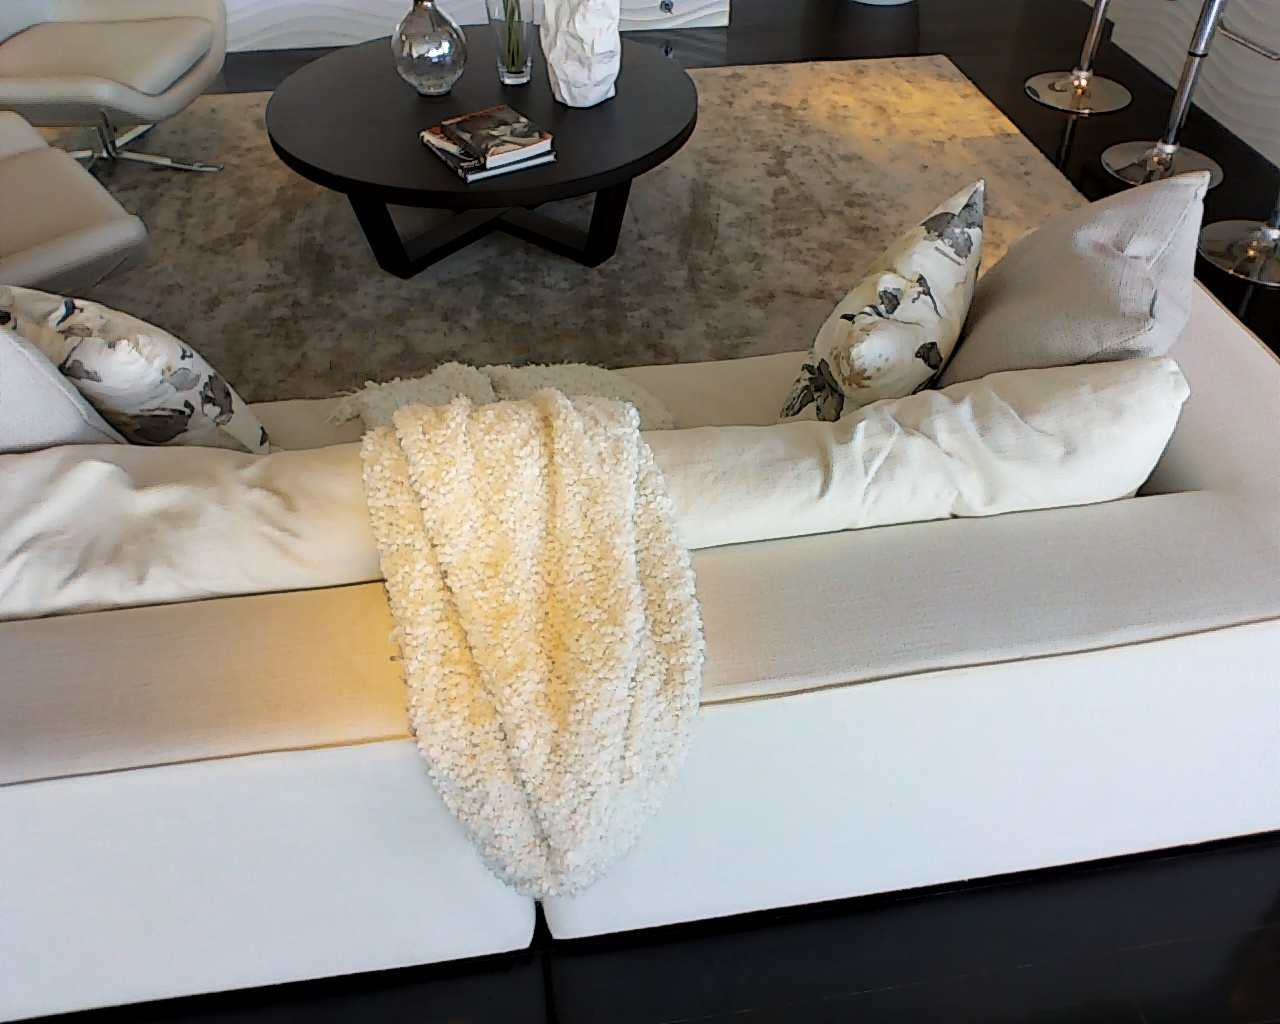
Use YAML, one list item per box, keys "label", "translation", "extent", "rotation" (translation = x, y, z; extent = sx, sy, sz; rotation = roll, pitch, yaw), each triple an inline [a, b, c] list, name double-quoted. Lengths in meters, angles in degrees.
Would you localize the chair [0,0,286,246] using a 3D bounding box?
- label: "chair"
  translation: [-1.780, -1.430, 3.350]
  extent: [0.870, 0.750, 0.990]
  rotation: [4, 42, 5]
